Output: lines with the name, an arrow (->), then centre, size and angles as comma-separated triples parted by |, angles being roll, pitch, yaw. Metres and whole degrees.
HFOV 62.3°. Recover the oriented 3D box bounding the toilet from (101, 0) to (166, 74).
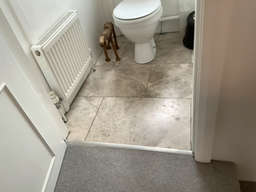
toilet -> 0.090, -0.690, 1.680 | 0.360, 0.770, 0.660 | 0, 43, 14
